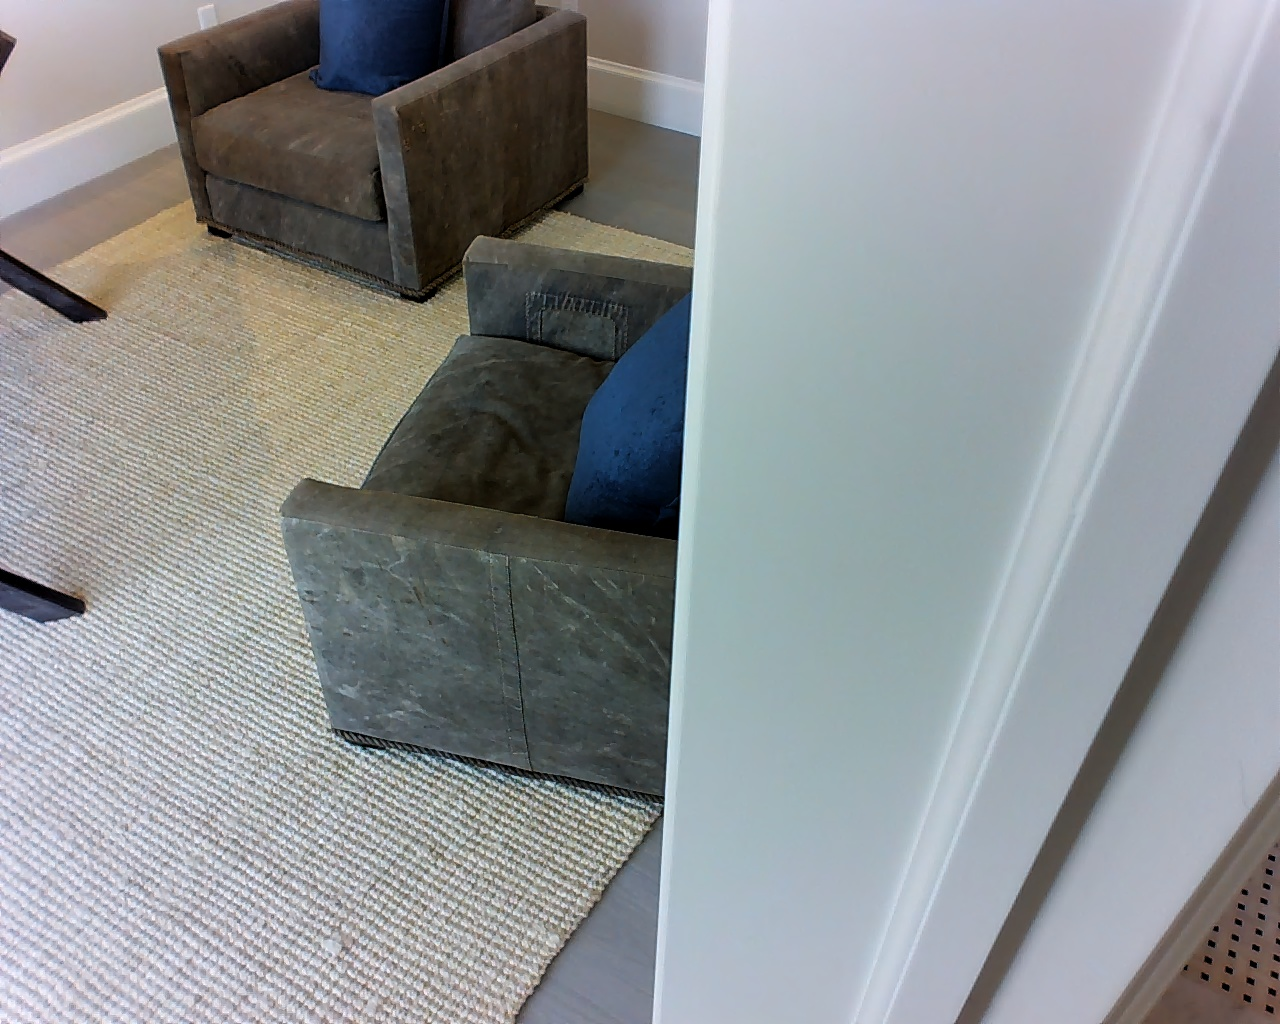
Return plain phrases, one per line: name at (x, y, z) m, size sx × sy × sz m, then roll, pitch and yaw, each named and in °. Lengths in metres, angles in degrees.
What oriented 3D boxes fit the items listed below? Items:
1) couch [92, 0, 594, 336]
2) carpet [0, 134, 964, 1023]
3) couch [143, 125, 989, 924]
couch at (-0.790, -1.230, 3.200) m, size 0.930 × 0.820 × 1.000 m, roll 20°, pitch 44°, yaw 19°
carpet at (-0.940, -0.090, 2.490) m, size 2.460 × 0.010 × 3.070 m, roll 23°, pitch 45°, yaw 22°
couch at (-0.020, -0.040, 1.880) m, size 1.020 × 0.810 × 0.970 m, roll 9°, pitch 42°, yaw 8°
